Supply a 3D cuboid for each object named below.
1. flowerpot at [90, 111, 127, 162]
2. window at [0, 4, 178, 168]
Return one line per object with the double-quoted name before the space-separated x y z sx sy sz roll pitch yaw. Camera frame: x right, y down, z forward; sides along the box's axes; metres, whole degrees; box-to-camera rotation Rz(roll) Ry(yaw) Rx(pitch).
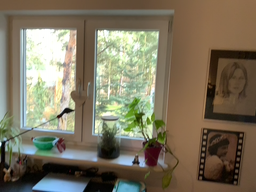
"flowerpot" -0.160 0.330 1.760 0.250 0.360 0.160 4 7 11
"window" -0.390 -0.090 1.830 1.480 1.230 0.270 4 7 4
